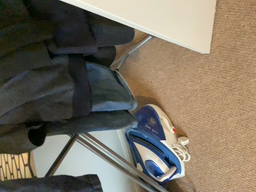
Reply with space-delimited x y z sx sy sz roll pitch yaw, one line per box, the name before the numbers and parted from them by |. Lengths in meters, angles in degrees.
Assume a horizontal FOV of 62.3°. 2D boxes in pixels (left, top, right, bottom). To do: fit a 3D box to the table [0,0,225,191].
table | -0.100 0.230 0.910 0.490 0.870 1.380 -29 74 35
